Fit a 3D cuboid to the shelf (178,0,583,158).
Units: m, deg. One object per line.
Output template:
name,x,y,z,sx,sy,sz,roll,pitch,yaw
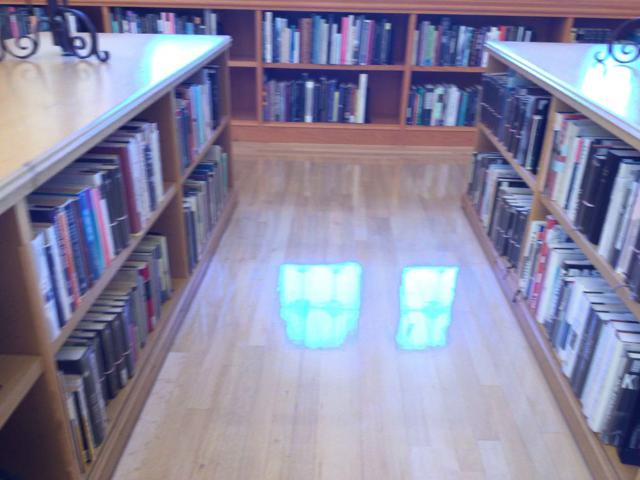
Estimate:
shelf,0.320,-1.060,3.660,2.290,0.840,0.500,4,23,1
